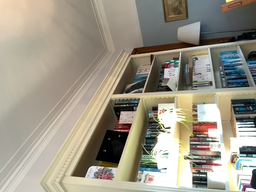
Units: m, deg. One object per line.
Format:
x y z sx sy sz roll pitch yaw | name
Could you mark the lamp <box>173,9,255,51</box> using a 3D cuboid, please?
1.480 -1.020 3.240 0.340 1.490 0.380 -66 -32 -52 | lamp
